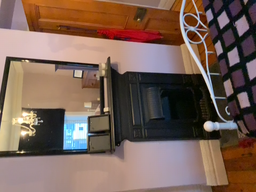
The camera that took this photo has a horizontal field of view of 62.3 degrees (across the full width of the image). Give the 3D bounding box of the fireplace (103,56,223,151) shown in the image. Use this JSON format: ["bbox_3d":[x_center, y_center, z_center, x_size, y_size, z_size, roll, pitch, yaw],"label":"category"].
[{"bbox_3d":[0.340,0.080,2.310,0.280,1.160,0.930,126,142,-63],"label":"fireplace"}]

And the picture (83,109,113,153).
[{"bbox_3d":[-0.280,0.330,1.990,0.120,0.190,0.350,124,159,-63],"label":"picture"}]
